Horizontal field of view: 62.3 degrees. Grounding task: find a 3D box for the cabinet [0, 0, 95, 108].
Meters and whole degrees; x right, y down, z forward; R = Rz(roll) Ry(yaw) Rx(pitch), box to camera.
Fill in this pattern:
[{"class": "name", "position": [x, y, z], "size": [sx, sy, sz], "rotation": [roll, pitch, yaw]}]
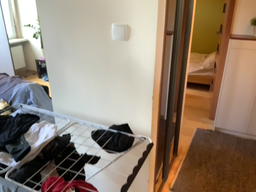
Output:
[{"class": "cabinet", "position": [-1.770, -1.250, 3.620], "size": [2.270, 2.480, 0.620], "rotation": [11, 26, 23]}]
